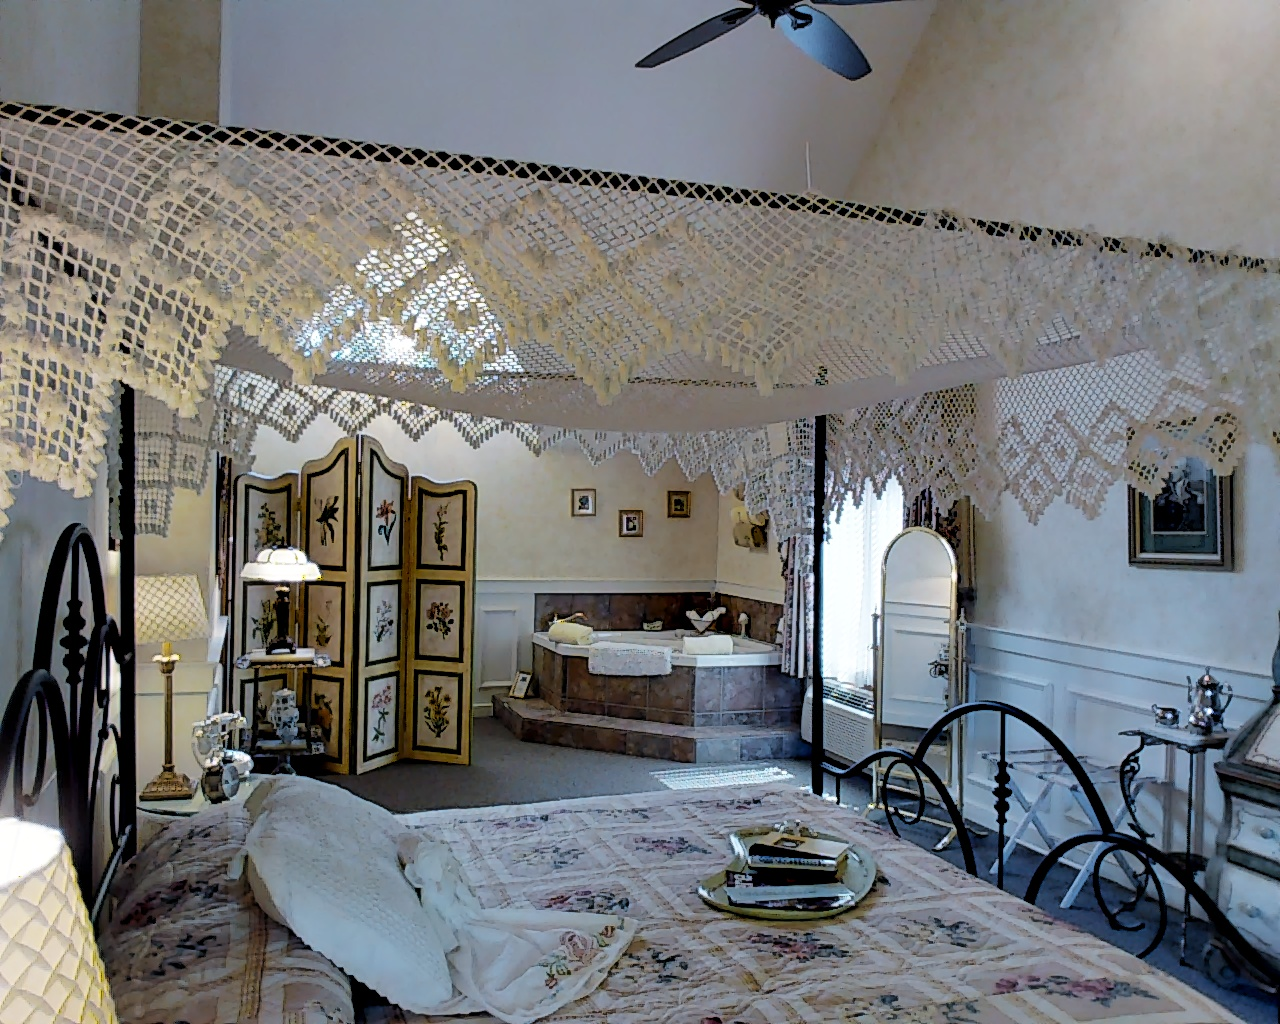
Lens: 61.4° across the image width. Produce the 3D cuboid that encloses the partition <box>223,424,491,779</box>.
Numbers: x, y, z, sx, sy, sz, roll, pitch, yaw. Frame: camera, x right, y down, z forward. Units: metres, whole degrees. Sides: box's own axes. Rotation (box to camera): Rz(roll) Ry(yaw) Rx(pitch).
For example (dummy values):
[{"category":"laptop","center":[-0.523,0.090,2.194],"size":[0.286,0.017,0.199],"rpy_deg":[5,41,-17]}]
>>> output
[{"category":"partition","center":[-1.710,0.520,6.540],"size":[1.480,2.000,0.470],"rpy_deg":[1,1,-20]}]

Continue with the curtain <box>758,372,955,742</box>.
[{"category":"curtain","center":[1.240,0.220,6.540],"size":[0.200,1.940,1.830],"rpy_deg":[1,1,-20]}]

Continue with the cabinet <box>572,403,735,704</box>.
[{"category":"cabinet","center":[0.080,0.280,8.100],"size":[0.540,2.100,1.130],"rpy_deg":[1,1,-42]}]
